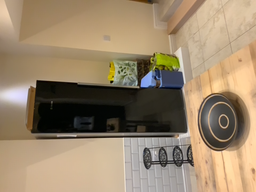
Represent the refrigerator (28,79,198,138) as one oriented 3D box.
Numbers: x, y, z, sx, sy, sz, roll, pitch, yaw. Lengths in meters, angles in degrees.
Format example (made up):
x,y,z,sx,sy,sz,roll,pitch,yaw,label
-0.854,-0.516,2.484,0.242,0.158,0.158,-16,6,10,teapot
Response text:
x,y,z,sx,sy,sz,roll,pitch,yaw,label
-0.160,0.220,2.780,0.630,1.970,0.570,136,134,-67,refrigerator
